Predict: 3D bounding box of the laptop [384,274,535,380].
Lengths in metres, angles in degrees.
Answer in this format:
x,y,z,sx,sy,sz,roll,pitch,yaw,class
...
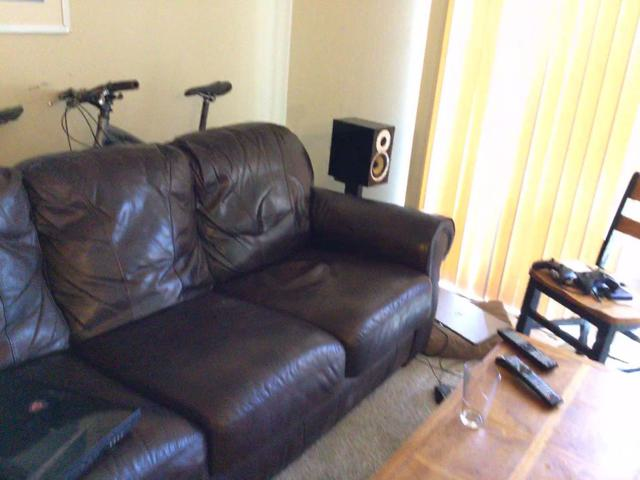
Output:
x,y,z,sx,sy,sz,roll,pitch,yaw,class
0.650,0.370,2.650,0.450,0.150,0.590,22,23,32,laptop

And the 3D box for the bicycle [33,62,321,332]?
x,y,z,sx,sy,sz,roll,pitch,yaw,class
-0.640,-0.270,2.730,0.580,0.950,1.140,22,23,32,bicycle

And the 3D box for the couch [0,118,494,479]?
x,y,z,sx,sy,sz,roll,pitch,yaw,class
-0.430,0.220,1.770,0.960,0.970,2.090,22,23,32,couch
